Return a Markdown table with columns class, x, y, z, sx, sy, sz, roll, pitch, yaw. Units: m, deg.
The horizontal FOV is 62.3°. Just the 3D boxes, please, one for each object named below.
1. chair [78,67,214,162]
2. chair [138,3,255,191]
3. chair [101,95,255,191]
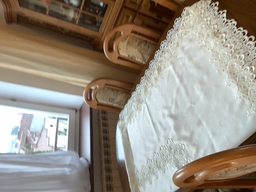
| class | x | y | z | sx | sy | sz | roll | pitch | yaw |
| --- | --- | --- | --- | --- | --- | --- | --- | --- | --- |
| chair | 0.130 | 0.210 | 1.890 | 0.450 | 1.040 | 0.550 | -55 | 35 | 40 |
| chair | 0.640 | 0.090 | 0.970 | 0.470 | 0.980 | 0.560 | -58 | 33 | 36 |
| chair | 0.420 | 0.440 | 1.250 | 0.470 | 0.990 | 0.560 | -58 | 33 | 36 |
